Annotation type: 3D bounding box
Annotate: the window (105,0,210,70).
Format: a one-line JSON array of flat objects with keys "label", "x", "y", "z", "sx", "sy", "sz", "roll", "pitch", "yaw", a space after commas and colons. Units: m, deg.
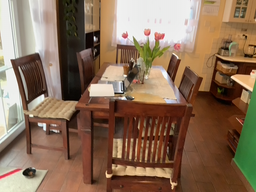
[{"label": "window", "x": 0.550, "y": -1.650, "z": 3.950, "sx": 1.850, "sy": 2.250, "sz": 0.160, "roll": 3, "pitch": 20, "yaw": -3}]
